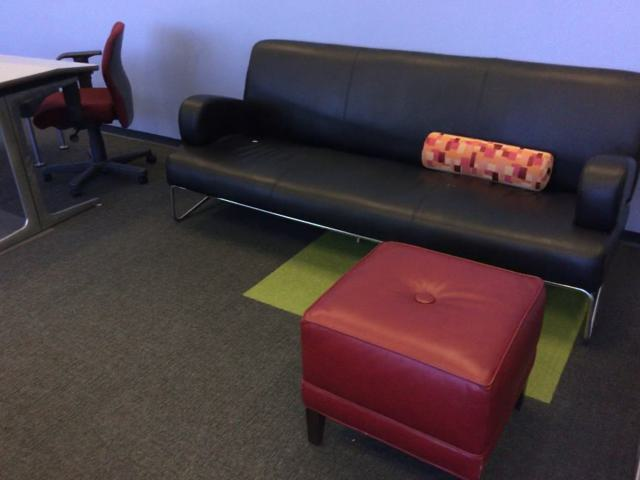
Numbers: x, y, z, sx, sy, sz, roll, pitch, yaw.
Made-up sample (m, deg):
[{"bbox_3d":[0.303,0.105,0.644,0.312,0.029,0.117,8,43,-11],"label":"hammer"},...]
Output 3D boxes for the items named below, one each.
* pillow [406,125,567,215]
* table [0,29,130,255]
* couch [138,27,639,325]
[{"bbox_3d":[0.690,-0.310,2.450,0.600,0.210,0.200,18,32,28],"label":"pillow"},{"bbox_3d":[-1.910,-0.540,2.890,1.340,0.820,1.130,17,32,28],"label":"table"},{"bbox_3d":[0.280,-0.450,2.530,1.990,0.660,0.890,18,32,28],"label":"couch"}]
